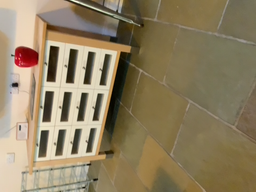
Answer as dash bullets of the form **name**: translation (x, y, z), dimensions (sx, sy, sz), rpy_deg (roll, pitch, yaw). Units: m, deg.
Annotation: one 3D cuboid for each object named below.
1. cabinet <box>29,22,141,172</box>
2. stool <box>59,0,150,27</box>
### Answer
- **cabinet**: translation (-0.550, 0.010, 2.350), dimensions (0.670, 0.870, 1.350), rpy_deg (44, 125, 53)
- **stool**: translation (-0.230, -1.020, 2.040), dimensions (0.590, 0.690, 0.480), rpy_deg (44, 125, 53)
